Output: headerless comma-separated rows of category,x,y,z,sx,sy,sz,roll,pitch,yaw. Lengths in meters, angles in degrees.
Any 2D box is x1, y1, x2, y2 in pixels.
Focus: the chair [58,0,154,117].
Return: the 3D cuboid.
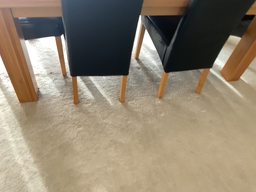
chair,-0.180,-0.380,1.260,0.390,0.980,0.510,-5,51,-14
